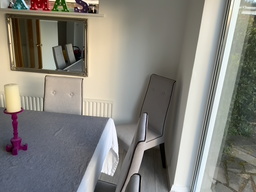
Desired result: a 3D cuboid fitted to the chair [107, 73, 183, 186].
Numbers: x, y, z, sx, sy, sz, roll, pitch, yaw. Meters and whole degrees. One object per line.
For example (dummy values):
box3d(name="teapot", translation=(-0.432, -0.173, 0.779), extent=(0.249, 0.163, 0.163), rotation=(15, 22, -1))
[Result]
box3d(name="chair", translation=(0.160, 0.320, 2.330), extent=(0.570, 1.030, 0.460), rotation=(-10, 23, -37))

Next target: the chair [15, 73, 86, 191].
box3d(name="chair", translation=(-0.650, 0.370, 1.970), extent=(0.420, 1.040, 0.580), rotation=(3, 18, -3))
